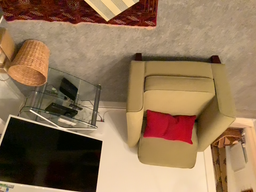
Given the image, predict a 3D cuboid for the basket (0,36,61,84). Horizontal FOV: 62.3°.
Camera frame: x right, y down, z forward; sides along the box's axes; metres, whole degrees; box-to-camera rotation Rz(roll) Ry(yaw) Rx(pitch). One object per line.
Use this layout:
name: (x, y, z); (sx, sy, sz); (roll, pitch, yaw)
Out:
basket: (-0.840, -0.300, 1.840); (0.380, 0.220, 0.270); (-8, 149, 20)

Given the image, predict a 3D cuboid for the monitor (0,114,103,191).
monitor: (-0.660, 0.530, 1.880); (0.910, 0.500, 0.080); (22, 146, -30)

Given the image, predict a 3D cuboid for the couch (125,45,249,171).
couch: (0.400, 0.180, 2.020); (0.810, 0.800, 1.000); (3, 151, 1)
